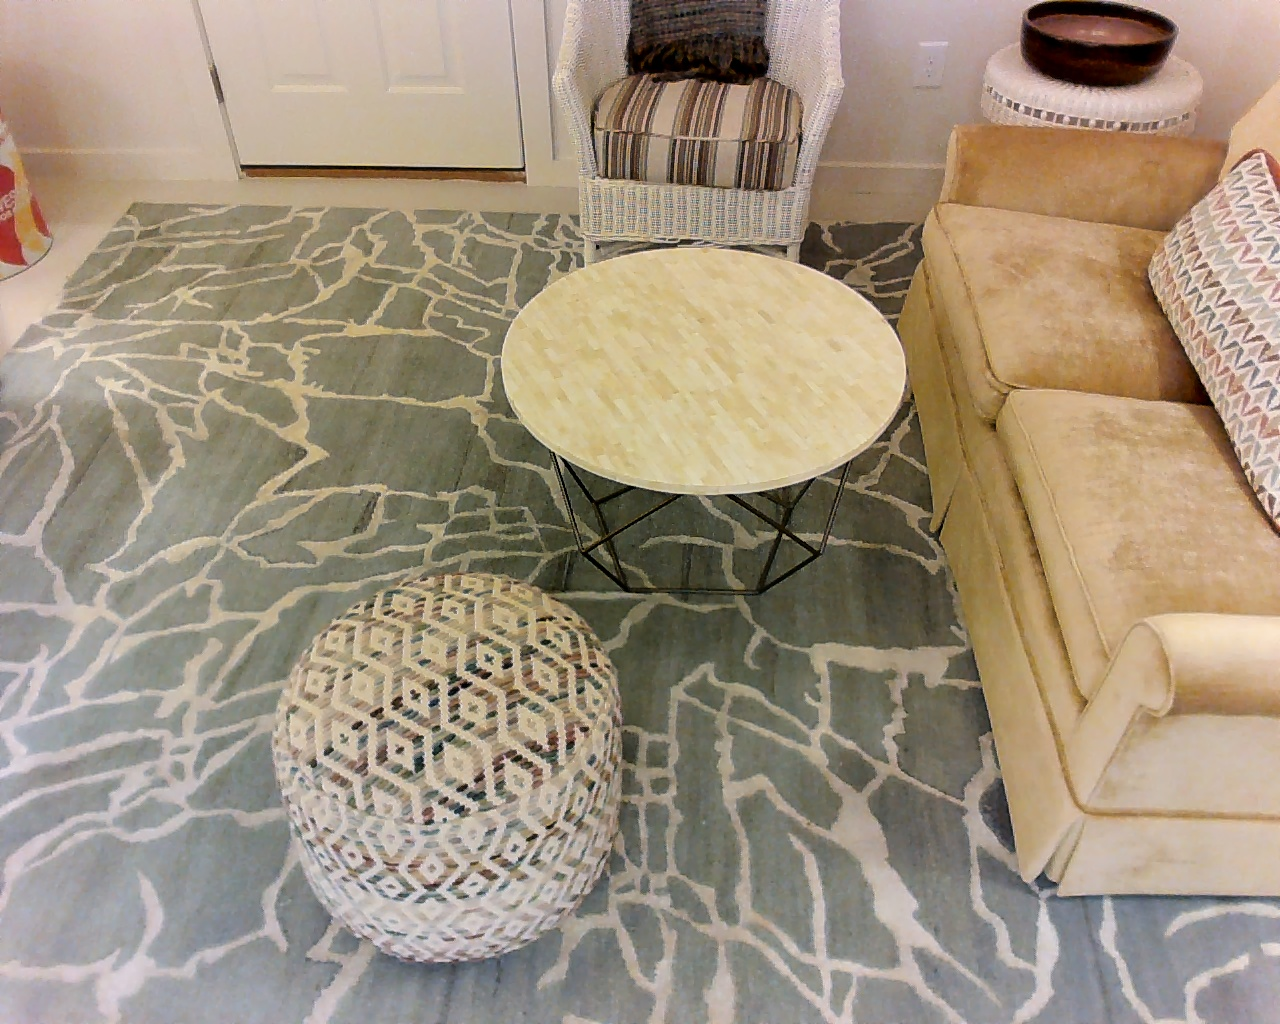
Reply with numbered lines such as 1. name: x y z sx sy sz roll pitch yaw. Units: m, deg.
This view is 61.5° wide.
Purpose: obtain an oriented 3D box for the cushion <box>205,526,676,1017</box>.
1. cushion: -0.240 0.370 1.580 0.540 0.440 0.520 -2 43 -2

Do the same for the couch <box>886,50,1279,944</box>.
1. couch: 1.100 -0.180 1.980 1.000 0.690 1.690 2 43 3
